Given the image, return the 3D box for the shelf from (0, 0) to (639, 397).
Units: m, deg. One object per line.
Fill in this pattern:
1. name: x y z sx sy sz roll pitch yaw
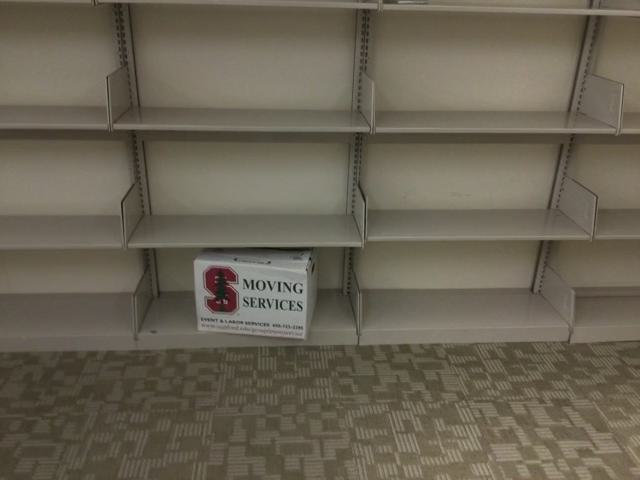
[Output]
1. shelf: -0.060 -0.400 2.090 4.020 1.810 0.540 4 22 -6
